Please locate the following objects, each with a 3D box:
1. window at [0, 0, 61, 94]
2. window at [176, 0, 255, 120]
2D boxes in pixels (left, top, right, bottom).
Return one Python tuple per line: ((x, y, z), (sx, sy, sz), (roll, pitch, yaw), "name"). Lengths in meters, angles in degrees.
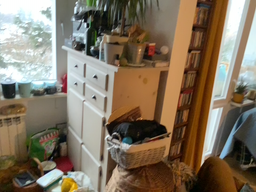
((-1.210, -0.620, 1.960), (1.120, 1.210, 0.190), (-6, 22, -31), "window")
((1.740, -0.560, 2.810), (2.200, 1.460, 0.390), (-4, 21, -29), "window")
